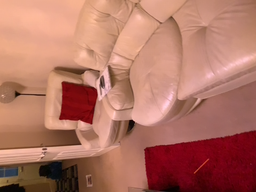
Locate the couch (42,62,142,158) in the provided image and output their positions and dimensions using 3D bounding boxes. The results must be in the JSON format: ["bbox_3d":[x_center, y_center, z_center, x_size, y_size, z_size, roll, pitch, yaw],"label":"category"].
[{"bbox_3d":[-0.510,0.130,2.720,0.770,0.960,0.920,31,114,57],"label":"couch"}]

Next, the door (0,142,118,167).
[{"bbox_3d":[-1.220,0.800,2.800,0.820,2.040,0.050,-41,53,52],"label":"door"}]

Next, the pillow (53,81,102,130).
[{"bbox_3d":[-0.620,0.120,2.630,0.460,0.410,0.090,-56,12,7],"label":"pillow"}]
